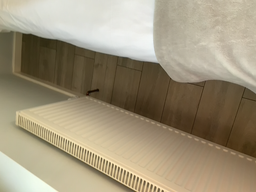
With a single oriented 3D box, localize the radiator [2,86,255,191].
[{"bbox_3d":[0.100,0.190,1.000,1.280,0.630,0.100,17,107,26],"label":"radiator"}]
